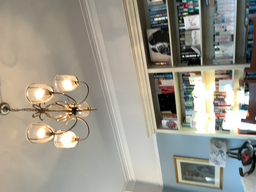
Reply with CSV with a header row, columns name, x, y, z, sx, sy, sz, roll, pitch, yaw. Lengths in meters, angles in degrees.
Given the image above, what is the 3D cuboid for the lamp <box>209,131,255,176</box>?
name,x,y,z,sx,sy,sz,roll,pitch,yaw
lamp,1.780,0.780,2.770,0.370,1.330,0.390,-57,-39,-53
